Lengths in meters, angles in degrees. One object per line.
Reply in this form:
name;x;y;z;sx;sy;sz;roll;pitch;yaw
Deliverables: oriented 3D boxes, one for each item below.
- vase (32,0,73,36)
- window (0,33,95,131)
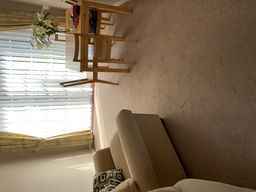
vase;-1.070;-1.100;2.940;0.630;0.440;0.470;25;113;59
window;-1.720;-0.240;4.090;0.130;2.150;1.750;22;110;59
